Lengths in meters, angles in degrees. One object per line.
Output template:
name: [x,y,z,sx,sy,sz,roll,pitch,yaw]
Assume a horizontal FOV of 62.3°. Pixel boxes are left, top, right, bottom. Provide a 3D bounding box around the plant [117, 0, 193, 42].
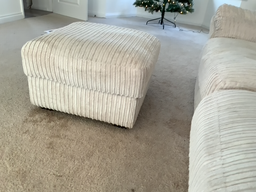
plant: [0.590,-2.000,3.460,1.020,1.810,1.080,16,31,15]
